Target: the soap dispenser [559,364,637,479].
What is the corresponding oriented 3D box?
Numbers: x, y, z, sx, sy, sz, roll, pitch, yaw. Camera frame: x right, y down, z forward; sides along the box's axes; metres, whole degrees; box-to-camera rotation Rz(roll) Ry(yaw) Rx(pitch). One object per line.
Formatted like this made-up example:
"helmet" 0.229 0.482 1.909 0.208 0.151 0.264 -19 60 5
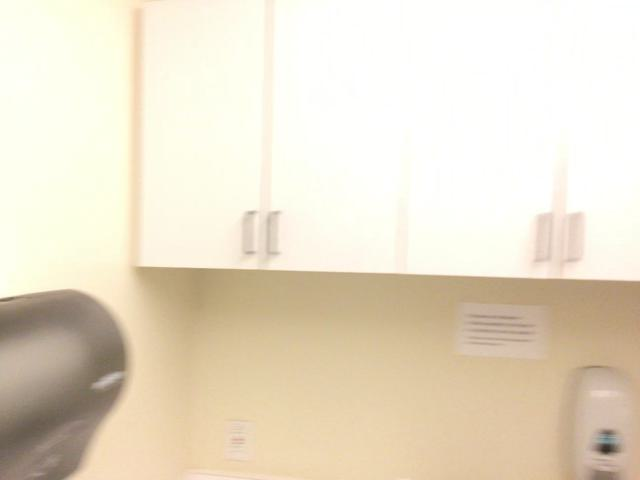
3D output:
"soap dispenser" 0.660 0.470 1.390 0.150 0.320 0.110 -2 1 17
